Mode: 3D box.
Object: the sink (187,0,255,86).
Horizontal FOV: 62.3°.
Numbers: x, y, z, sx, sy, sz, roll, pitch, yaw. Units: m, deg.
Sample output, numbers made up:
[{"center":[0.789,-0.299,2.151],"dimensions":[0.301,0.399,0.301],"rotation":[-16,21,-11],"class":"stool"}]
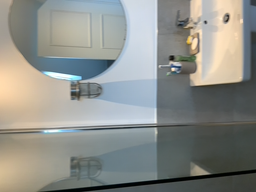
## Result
[{"center":[0.550,-0.490,1.280],"dimensions":[0.480,0.160,0.840],"rotation":[180,89,-76],"class":"sink"}]
